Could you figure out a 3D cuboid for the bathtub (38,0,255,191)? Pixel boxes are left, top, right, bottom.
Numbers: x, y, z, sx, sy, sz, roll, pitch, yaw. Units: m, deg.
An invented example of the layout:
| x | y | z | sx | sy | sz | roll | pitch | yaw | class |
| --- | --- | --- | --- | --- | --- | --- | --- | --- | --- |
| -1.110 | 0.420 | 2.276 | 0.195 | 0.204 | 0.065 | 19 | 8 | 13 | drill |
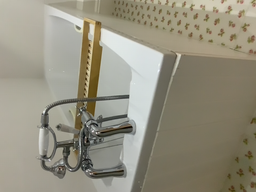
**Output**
| x | y | z | sx | sy | sz | roll | pitch | yaw | class |
| --- | --- | --- | --- | --- | --- | --- | --- | --- | --- |
| -0.150 | -0.170 | 1.410 | 1.680 | 0.570 | 0.670 | 40 | 126 | 50 | bathtub |
